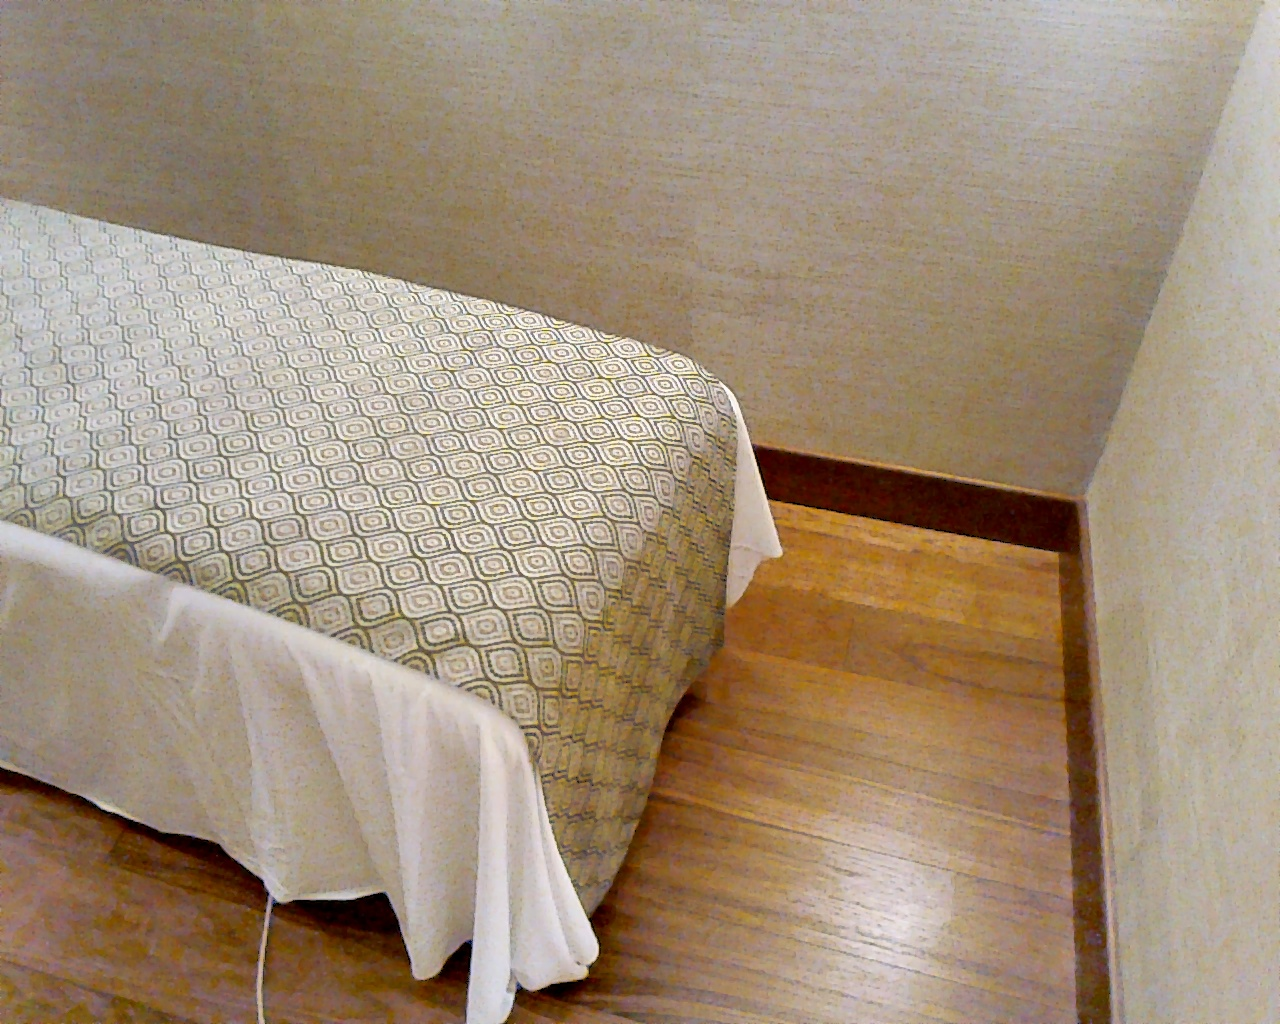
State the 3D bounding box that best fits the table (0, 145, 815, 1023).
[{"bbox_3d":[-0.930,-0.020,1.890,2.220,0.790,0.840,16,43,16],"label":"table"}]
